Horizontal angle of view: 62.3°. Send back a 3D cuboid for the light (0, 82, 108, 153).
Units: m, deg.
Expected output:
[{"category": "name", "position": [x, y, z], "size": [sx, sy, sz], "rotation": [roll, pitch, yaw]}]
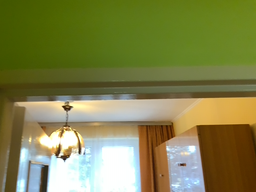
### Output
[{"category": "light", "position": [-0.670, 0.300, 2.290], "size": [0.740, 0.950, 0.570], "rotation": [-2, -108, 5]}]
